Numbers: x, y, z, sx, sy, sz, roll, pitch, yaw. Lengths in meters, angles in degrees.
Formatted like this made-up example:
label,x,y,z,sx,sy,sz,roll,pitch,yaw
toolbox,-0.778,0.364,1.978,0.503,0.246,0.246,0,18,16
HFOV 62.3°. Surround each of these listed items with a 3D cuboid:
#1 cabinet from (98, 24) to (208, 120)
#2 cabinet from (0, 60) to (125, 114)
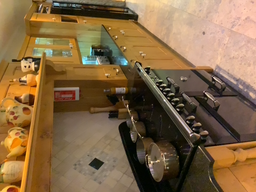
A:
label,x,y,z,sx,sy,sz,roll,pitch,yaw
cabinet,0.160,-0.520,3.240,2.060,0.890,0.580,-118,31,-54
cabinet,-0.750,-0.120,2.460,0.390,1.340,0.450,-118,31,-54
